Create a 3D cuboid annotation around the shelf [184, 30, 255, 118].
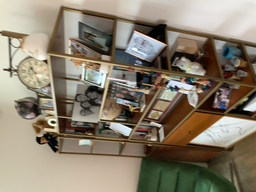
[{"bbox_3d":[0.890,-0.120,1.540,0.380,0.810,0.400,113,161,-56],"label":"shelf"}]
